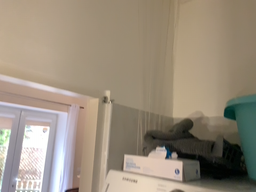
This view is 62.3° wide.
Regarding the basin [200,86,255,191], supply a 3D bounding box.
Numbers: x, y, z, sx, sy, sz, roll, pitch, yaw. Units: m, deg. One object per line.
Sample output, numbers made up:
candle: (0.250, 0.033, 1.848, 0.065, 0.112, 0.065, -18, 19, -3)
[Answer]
basin: (0.570, 0.160, 0.760, 0.400, 0.290, 0.540, -9, -17, 42)
